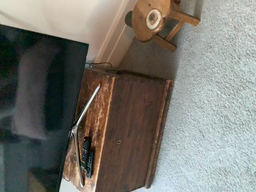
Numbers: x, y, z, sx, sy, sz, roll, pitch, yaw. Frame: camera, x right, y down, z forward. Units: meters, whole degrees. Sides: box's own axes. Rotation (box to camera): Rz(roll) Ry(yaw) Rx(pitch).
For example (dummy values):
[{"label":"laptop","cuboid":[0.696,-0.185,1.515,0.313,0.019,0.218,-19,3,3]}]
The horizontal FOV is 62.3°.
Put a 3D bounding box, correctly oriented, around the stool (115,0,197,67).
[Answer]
[{"label":"stool","cuboid":[0.150,-0.370,1.210,0.280,0.250,0.270,52,123,34]}]
